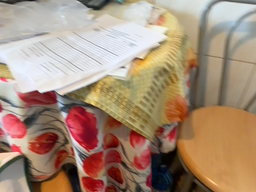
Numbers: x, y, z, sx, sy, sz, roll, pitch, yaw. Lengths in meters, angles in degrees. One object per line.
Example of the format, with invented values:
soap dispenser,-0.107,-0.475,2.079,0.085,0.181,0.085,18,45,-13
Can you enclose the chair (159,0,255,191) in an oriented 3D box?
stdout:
chair,0.350,0.160,0.730,0.380,0.790,0.460,13,41,14
